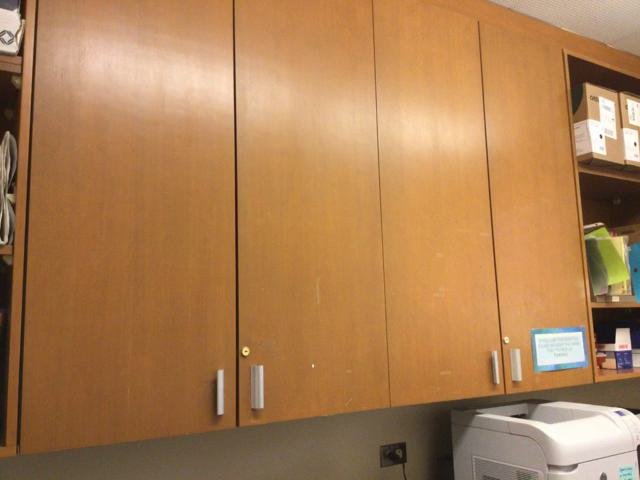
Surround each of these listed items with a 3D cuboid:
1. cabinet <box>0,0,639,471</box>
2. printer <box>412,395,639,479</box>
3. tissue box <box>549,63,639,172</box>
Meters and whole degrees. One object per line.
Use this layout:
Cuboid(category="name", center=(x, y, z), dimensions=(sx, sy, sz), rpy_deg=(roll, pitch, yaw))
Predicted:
Cuboid(category="cabinet", center=(0.140, -0.140, 1.770), dimensions=(2.140, 1.270, 0.350), rpy_deg=(2, -11, -29))
Cuboid(category="printer", center=(0.670, 0.740, 1.830), dimensions=(0.470, 0.410, 0.570), rpy_deg=(2, -11, -29))
Cuboid(category="tissue box", center=(1.040, -0.450, 2.170), dimensions=(0.220, 0.320, 0.210), rpy_deg=(2, -11, -29))
